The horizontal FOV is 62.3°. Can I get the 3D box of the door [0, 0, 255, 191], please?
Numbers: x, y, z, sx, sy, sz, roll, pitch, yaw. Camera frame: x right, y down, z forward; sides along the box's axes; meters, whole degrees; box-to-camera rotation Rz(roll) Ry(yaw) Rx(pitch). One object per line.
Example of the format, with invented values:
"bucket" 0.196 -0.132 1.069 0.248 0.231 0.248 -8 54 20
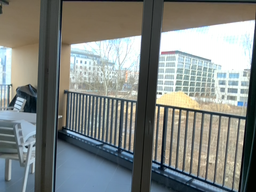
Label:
"door" -1.430 -0.010 2.090 5.090 2.750 0.090 5 4 7
